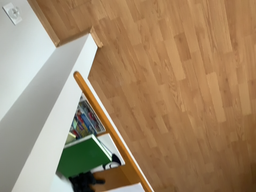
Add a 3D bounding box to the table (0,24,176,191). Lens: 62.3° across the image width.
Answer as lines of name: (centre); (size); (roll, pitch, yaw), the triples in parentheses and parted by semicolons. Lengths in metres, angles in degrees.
table: (-0.060, 0.660, 1.290); (0.430, 1.140, 1.840); (-21, 121, 12)
